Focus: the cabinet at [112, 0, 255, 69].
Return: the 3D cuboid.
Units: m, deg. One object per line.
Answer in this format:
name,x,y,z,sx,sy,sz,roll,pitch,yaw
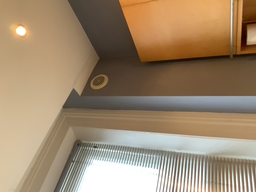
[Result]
cabinet,0.310,-0.510,1.040,0.830,0.780,0.130,66,-147,-43
